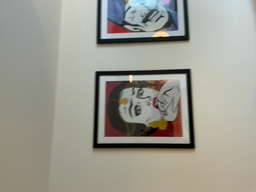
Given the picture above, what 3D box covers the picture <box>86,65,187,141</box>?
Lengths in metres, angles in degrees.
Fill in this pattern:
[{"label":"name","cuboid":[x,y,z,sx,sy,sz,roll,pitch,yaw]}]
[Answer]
[{"label":"picture","cuboid":[0.060,0.050,1.690,0.020,0.780,0.600,68,-159,-79]}]
